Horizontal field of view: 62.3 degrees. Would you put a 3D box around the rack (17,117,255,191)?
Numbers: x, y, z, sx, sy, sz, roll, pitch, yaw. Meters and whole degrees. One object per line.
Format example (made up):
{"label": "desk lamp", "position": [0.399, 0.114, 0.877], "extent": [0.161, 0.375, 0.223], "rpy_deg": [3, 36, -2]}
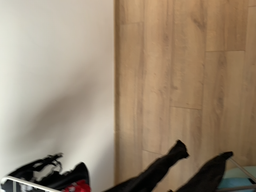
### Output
{"label": "rack", "position": [0.590, 0.610, 0.770], "extent": [1.690, 1.040, 0.690], "rpy_deg": [5, 98, 33]}
